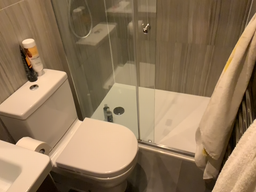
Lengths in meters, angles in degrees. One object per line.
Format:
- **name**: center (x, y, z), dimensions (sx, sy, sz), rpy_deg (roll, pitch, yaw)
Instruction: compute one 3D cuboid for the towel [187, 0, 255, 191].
- **towel**: center (0.450, 0.110, 0.980), dimensions (0.190, 1.100, 0.280), rpy_deg (12, 42, 19)
